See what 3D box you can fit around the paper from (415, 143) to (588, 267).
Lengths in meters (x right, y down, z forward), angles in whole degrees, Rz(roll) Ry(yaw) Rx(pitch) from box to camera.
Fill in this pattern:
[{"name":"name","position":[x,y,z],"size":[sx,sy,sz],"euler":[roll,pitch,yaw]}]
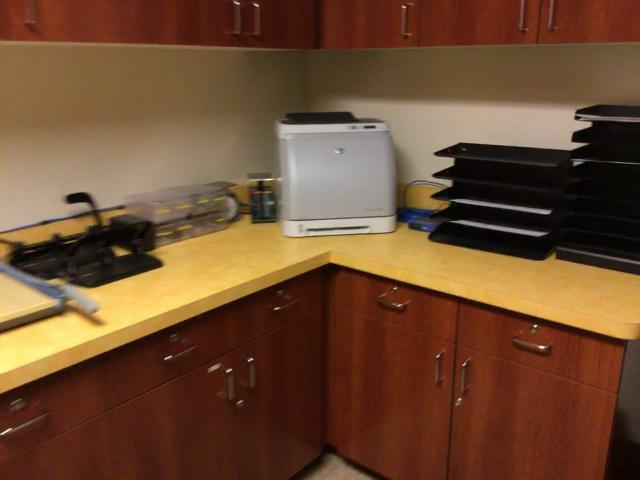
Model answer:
[{"name":"paper","position":[0.590,-0.140,1.880],"size":[0.390,0.300,0.420],"euler":[10,19,40]}]

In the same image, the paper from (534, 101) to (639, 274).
[{"name":"paper","position":[0.860,-0.170,1.650],"size":[0.350,0.430,0.340],"euler":[10,19,40]}]
